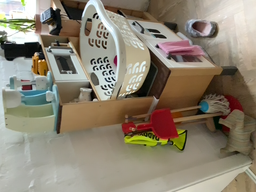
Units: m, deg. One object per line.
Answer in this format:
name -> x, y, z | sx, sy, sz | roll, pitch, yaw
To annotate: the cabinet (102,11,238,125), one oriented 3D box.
cabinet -> 0.230, -0.230, 1.500 | 0.720, 0.550, 0.390 | 58, 141, 40
